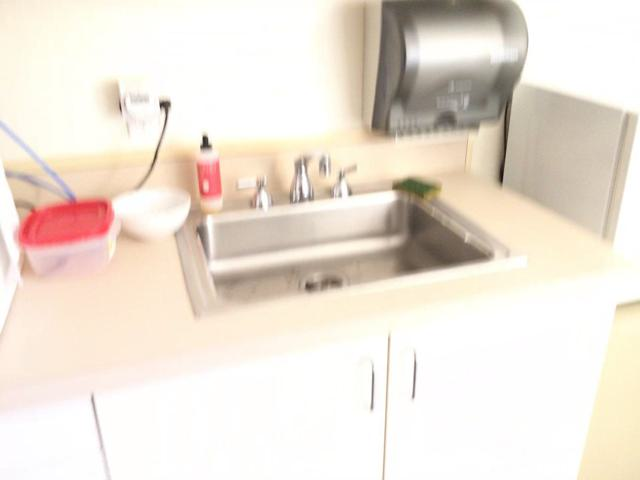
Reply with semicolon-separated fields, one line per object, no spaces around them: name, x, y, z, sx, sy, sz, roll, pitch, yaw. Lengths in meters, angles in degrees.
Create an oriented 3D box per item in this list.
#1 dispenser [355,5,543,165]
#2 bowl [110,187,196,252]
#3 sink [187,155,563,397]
dispenser;0.290;-0.380;1.390;0.330;0.330;0.240;-5;24;-16
bowl;-0.360;-0.050;1.240;0.160;0.060;0.210;-5;24;-16
sink;0.060;0.020;1.270;0.630;0.250;0.560;-5;24;-16
